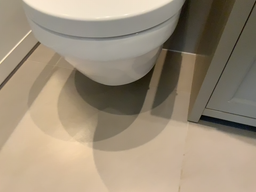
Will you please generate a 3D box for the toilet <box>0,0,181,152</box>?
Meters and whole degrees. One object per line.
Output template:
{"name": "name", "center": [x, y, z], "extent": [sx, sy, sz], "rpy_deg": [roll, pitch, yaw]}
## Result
{"name": "toilet", "center": [-0.050, -0.200, 0.690], "extent": [0.380, 0.470, 0.520], "rpy_deg": [12, 53, 10]}
